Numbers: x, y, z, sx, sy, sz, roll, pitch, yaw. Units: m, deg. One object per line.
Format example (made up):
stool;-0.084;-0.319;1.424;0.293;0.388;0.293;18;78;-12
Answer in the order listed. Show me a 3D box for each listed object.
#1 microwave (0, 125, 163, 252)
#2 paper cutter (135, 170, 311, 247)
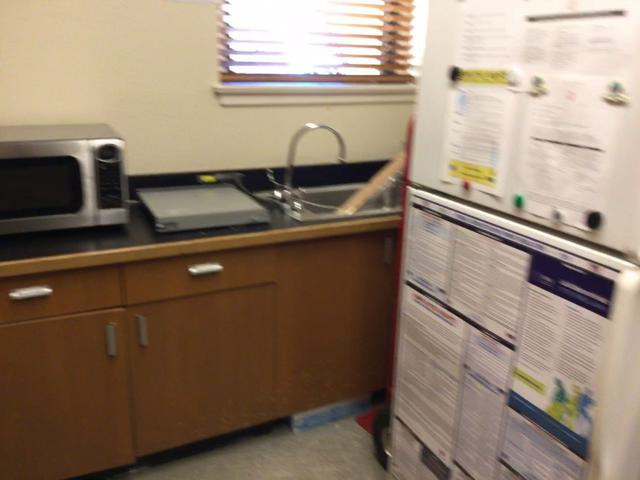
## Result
microwave;-0.910;-0.200;1.970;0.630;0.340;0.470;-6;16;-25
paper cutter;-0.380;-0.140;2.110;0.470;0.130;0.630;-6;16;-25
